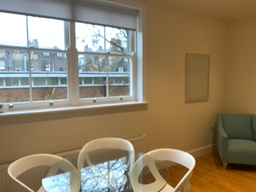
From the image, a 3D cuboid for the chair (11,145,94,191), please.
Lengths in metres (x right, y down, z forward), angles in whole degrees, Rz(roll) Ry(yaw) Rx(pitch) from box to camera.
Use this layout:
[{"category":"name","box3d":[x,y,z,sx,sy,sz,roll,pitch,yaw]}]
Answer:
[{"category":"chair","box3d":[-0.700,0.960,2.060,0.550,0.780,0.490,1,5,22]}]

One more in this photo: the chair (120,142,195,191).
[{"category":"chair","box3d":[0.290,0.950,2.130,0.540,0.780,0.500,-4,6,-36]}]
